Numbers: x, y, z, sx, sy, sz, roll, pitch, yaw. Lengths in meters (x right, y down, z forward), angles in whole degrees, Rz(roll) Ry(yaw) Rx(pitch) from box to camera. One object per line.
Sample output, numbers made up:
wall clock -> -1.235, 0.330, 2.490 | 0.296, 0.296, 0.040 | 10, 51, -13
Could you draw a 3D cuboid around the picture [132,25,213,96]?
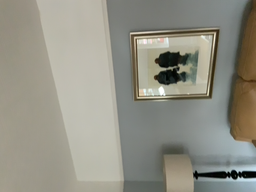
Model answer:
picture -> 0.440, -0.340, 2.200 | 0.060, 0.760, 0.700 | -83, -10, -63
